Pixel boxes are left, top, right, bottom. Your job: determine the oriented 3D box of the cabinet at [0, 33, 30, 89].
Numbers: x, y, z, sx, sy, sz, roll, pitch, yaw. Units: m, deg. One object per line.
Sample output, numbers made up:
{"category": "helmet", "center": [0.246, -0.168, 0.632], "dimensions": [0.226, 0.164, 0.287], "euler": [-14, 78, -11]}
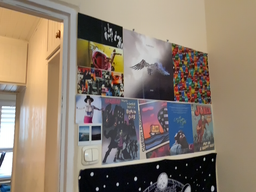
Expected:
{"category": "cabinet", "center": [-1.610, -0.410, 2.420], "dimensions": [0.800, 0.550, 0.380], "euler": [5, -10, -35]}
